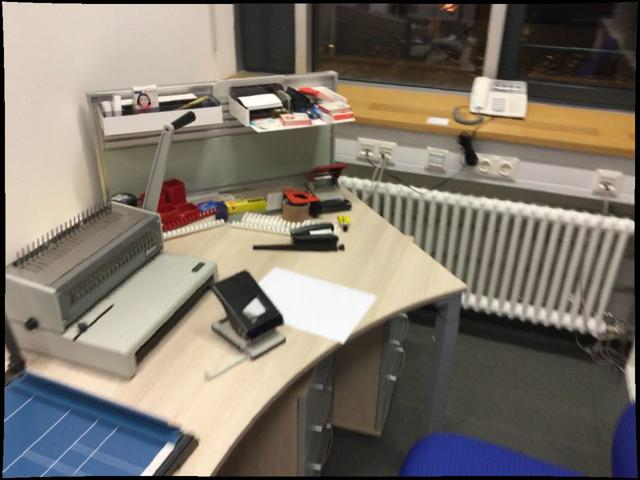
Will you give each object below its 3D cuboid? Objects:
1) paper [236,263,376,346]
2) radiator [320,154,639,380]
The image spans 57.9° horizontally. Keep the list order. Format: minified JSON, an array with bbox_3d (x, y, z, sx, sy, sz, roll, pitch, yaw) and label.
[{"bbox_3d":[-0.030,0.150,1.430,0.280,0.020,0.210,15,33,22],"label":"paper"},{"bbox_3d":[0.649,0.090,2.350,1.259,0.650,0.270,10,31,14],"label":"radiator"}]
